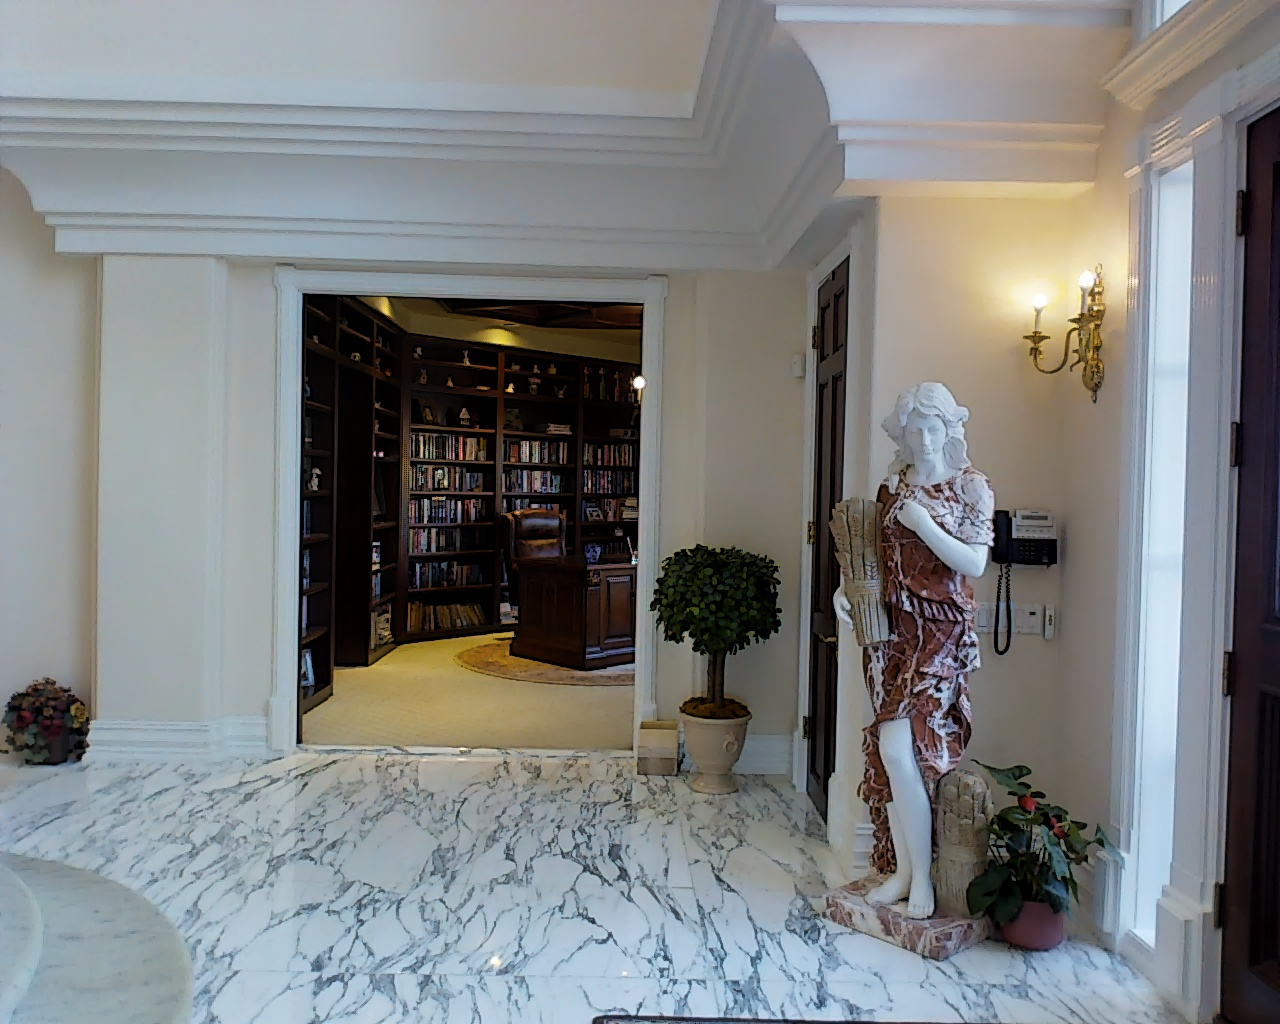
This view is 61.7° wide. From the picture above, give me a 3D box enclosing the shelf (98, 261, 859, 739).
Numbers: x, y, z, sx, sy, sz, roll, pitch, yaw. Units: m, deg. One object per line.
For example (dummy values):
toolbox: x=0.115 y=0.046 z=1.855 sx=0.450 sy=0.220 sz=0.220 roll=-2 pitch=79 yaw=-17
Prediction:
shelf: x=-0.930 y=-0.080 z=8.950 sx=2.600 sy=2.650 sz=5.870 roll=2 pitch=1 yaw=44
